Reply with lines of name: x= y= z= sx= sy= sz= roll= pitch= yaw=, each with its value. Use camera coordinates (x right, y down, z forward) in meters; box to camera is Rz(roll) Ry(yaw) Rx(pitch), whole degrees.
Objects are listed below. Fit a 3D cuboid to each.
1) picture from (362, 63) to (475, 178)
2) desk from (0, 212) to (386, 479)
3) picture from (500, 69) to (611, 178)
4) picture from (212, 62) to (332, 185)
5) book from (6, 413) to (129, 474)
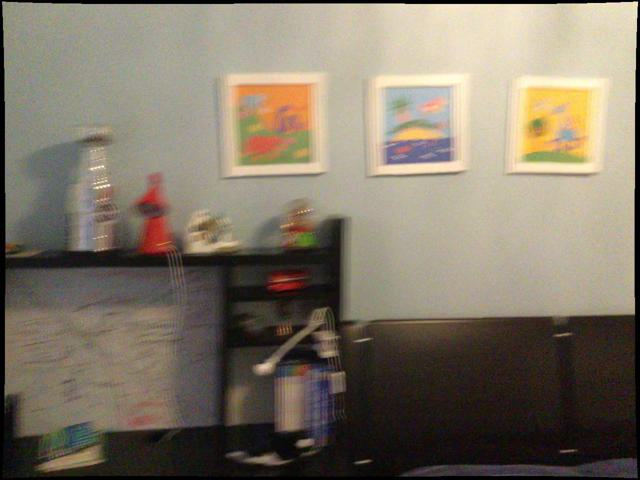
picture: x=0.300 y=-0.360 z=1.770 sx=0.340 sy=0.340 sz=0.020 roll=-1 pitch=9 yaw=-7
desk: x=-0.440 y=0.631 z=1.530 sx=1.089 sy=1.351 sz=0.570 roll=-1 pitch=9 yaw=-7
picture: x=0.739 y=-0.360 z=1.820 sx=0.330 sy=0.330 sz=0.030 roll=-1 pitch=9 yaw=-7
picture: x=-0.140 y=-0.340 z=1.720 sx=0.350 sy=0.350 sz=0.030 roll=-1 pitch=9 yaw=-7
book: x=-0.689 y=0.561 z=1.610 sx=0.260 sy=0.050 sz=0.220 roll=-1 pitch=9 yaw=-7
